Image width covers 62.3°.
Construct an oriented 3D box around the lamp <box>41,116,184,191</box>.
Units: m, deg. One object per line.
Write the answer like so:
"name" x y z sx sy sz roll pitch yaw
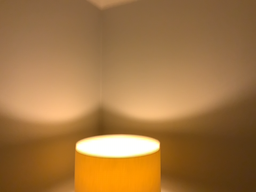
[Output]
"lamp" -0.070 0.930 1.190 0.590 1.600 0.570 -2 -4 35
